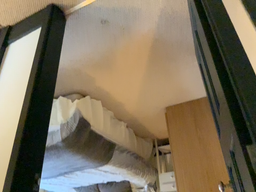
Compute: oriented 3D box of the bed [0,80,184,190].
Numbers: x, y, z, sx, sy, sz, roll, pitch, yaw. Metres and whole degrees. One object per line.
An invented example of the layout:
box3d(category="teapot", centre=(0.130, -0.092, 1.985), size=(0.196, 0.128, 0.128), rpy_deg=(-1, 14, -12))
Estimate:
box3d(category="bed", centre=(-0.400, 0.770, 2.820), size=(1.540, 0.630, 2.050), rpy_deg=(-20, 147, 26))
